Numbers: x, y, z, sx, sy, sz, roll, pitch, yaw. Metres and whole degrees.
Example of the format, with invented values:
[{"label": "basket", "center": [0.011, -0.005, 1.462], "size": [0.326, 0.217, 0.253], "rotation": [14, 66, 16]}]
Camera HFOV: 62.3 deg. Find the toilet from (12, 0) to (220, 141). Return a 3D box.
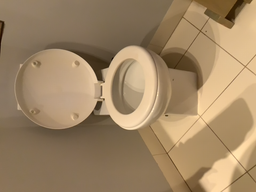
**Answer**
[{"label": "toilet", "center": [-0.030, -0.040, 0.990], "size": [0.500, 0.810, 0.390], "rotation": [-7, 81, 52]}]
